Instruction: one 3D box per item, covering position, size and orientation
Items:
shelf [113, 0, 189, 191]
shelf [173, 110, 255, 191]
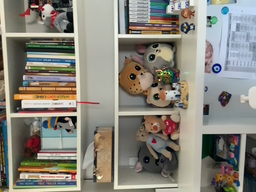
[{"bbox_3d":[0.080,-0.100,0.970,0.210,0.300,1.030,-118,28,-81],"label":"shelf"},{"bbox_3d":[0.490,0.260,0.900,0.280,0.520,0.350,-118,28,-81],"label":"shelf"}]
